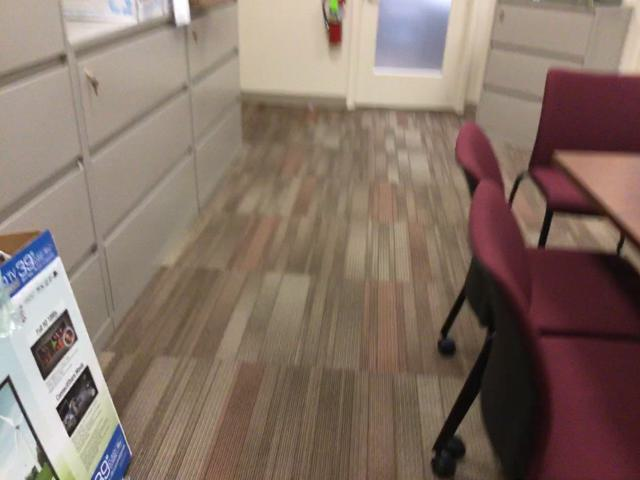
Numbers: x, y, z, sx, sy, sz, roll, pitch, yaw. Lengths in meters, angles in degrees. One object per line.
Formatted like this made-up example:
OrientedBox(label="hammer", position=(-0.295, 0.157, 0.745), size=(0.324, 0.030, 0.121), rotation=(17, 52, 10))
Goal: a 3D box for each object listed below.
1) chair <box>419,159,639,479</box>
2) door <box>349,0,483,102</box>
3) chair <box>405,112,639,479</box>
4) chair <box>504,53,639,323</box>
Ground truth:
OrientedBox(label="chair", position=(0.540, 0.340, 1.130), size=(0.600, 0.820, 0.570), rotation=(3, 28, 6))
OrientedBox(label="door", position=(0.730, -2.200, 4.230), size=(0.980, 2.330, 0.180), rotation=(3, 28, 6))
OrientedBox(label="chair", position=(0.580, 0.150, 1.560), size=(0.630, 0.830, 0.570), rotation=(3, 28, 6))
OrientedBox(label="chair", position=(1.060, -0.220, 2.220), size=(0.470, 0.850, 0.610), rotation=(3, 28, 6))
